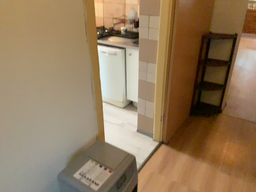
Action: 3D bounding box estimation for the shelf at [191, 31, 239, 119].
[{"bbox_3d":[1.020,-0.240,2.540,0.290,0.970,0.300,19,33,31],"label":"shelf"}]
